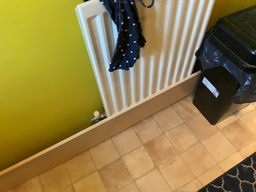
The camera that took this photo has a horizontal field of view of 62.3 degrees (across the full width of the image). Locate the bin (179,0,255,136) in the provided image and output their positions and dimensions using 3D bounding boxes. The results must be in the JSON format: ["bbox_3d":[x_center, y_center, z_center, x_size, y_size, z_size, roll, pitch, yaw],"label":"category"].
[{"bbox_3d":[0.600,-0.150,1.150,0.410,0.660,0.360,-23,59,-12],"label":"bin"}]
